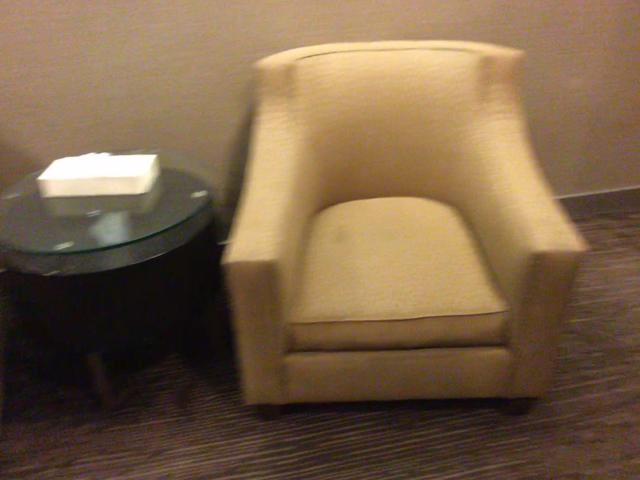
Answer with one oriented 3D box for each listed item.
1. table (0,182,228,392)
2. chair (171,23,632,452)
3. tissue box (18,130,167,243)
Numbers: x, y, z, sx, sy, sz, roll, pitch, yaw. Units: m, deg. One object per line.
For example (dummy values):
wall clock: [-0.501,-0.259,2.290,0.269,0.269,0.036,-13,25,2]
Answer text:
table: [-0.580,0.110,1.620,0.580,0.390,0.360,-6,29,-11]
chair: [0.190,-0.070,1.780,0.910,0.930,0.940,-4,29,2]
tissue box: [-0.630,-0.160,1.660,0.340,0.230,0.220,-6,29,-11]
